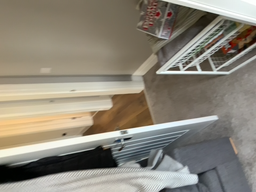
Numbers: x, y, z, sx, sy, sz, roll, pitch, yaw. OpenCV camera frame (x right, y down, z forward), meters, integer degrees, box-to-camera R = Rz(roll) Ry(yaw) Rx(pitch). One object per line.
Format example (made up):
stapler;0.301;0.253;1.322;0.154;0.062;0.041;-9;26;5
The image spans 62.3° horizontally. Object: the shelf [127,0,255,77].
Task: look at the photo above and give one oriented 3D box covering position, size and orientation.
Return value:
shelf;0.510;-0.480;1.370;0.560;0.760;0.500;-40;60;53
